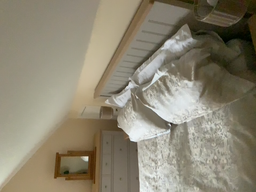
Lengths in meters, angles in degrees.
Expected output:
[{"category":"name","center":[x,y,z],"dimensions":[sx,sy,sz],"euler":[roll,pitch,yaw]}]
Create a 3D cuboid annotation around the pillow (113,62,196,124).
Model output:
[{"category":"pillow","center":[0.240,0.030,1.570],"dimensions":[0.690,0.400,0.160],"euler":[24,-140,-63]}]
